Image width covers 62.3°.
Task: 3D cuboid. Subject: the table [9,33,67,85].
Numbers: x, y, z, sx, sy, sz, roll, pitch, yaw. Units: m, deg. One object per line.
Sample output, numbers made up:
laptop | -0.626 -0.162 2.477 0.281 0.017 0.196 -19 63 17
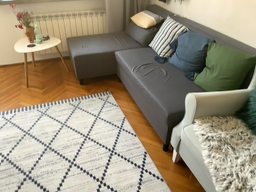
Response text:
table | -1.140 -0.500 2.760 0.570 0.450 0.500 -10 36 -16

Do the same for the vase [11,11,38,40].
vase | -1.290 -0.900 2.680 0.230 0.260 0.330 -9 36 -15
